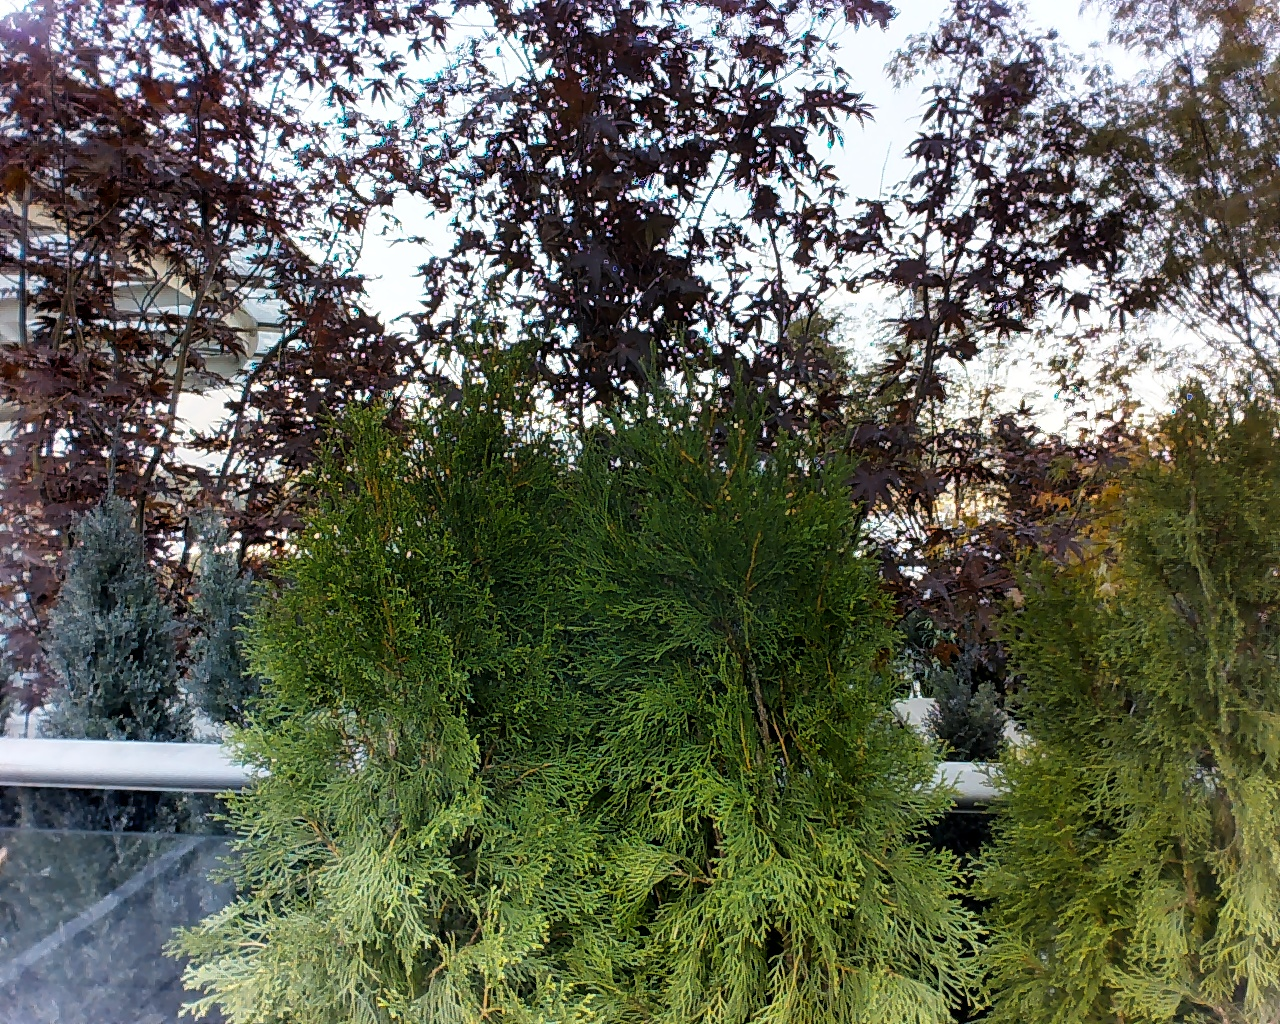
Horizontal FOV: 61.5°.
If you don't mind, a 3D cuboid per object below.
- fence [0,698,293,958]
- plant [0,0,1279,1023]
[{"bbox_3d":[-0.840,0.480,1.680,0.550,0.340,0.160,0,0,7],"label":"fence"},{"bbox_3d":[-0.040,0.040,2.420,2.859,2.781,1.870,0,0,6],"label":"plant"}]
